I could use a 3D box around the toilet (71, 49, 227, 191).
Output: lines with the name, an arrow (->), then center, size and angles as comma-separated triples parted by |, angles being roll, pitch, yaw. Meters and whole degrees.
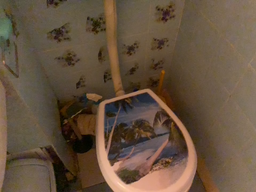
toilet -> 0.030, 0.190, 1.020 | 0.420, 0.420, 0.660 | -14, 54, -10
